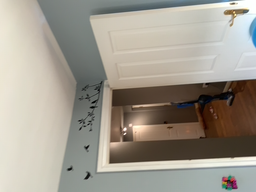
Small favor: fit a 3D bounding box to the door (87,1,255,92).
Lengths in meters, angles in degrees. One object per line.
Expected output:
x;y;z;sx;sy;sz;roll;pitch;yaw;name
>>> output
0.740;-0.370;1.790;0.870;1.980;0.040;80;-173;-55;door
